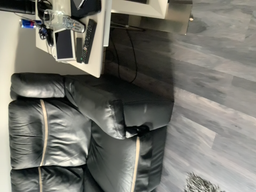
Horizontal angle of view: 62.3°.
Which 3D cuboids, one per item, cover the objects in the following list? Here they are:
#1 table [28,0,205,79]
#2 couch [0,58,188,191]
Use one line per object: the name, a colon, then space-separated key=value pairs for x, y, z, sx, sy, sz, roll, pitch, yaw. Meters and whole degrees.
table: x=-0.070 y=-0.830 z=1.320 sx=0.870 sy=0.780 sz=1.180 roll=28 pitch=118 yaw=42
couch: x=-0.440 y=0.970 z=1.950 sx=1.030 sy=0.960 sz=2.410 roll=28 pitch=118 yaw=42
